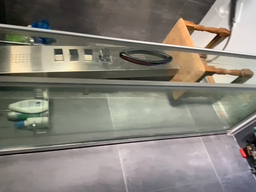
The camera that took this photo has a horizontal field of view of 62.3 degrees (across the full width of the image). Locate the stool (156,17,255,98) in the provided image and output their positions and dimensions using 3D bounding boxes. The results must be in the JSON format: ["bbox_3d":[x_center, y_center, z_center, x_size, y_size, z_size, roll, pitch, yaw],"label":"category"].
[{"bbox_3d":[0.520,-0.250,1.480,0.270,0.480,0.440,127,137,-52],"label":"stool"}]
